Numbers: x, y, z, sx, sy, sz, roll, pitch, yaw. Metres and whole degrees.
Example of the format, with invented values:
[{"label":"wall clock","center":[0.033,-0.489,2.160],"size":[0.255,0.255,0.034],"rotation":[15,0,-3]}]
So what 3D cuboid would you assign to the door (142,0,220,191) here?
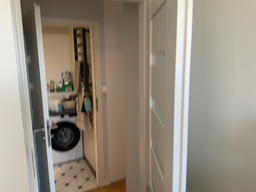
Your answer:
[{"label":"door","center":[0.180,0.500,1.090],"size":[0.150,2.110,0.710],"rotation":[-1,10,-1]}]
